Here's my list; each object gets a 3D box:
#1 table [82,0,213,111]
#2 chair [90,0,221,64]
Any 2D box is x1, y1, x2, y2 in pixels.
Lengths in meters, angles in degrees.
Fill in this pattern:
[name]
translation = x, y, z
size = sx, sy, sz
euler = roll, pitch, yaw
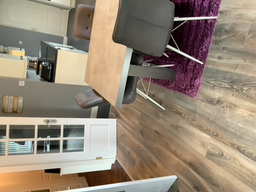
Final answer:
[table]
translation = 0.180, -0.990, 2.090
size = 1.010, 0.750, 2.030
euler = 31, 113, 59
[chair]
translation = 0.220, -0.580, 1.820
size = 0.540, 0.910, 0.420
euler = 31, 113, 59
